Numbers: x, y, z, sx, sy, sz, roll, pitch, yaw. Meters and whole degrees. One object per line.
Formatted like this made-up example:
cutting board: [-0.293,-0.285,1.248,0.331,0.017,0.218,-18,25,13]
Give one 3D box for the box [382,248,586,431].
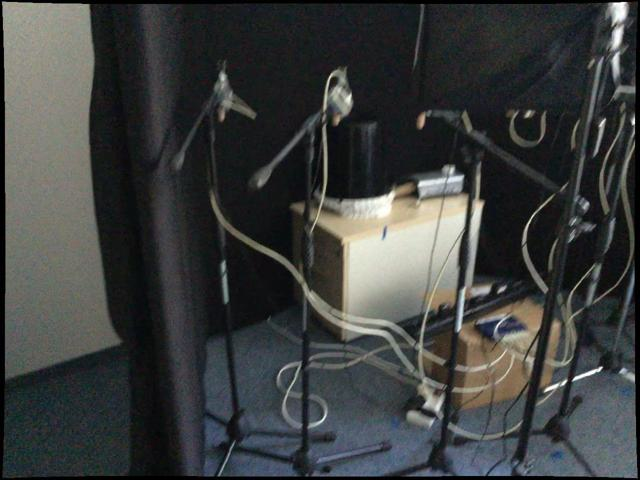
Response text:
box: [0.619,0.350,2.260,0.540,0.340,0.500,-18,32,-30]
